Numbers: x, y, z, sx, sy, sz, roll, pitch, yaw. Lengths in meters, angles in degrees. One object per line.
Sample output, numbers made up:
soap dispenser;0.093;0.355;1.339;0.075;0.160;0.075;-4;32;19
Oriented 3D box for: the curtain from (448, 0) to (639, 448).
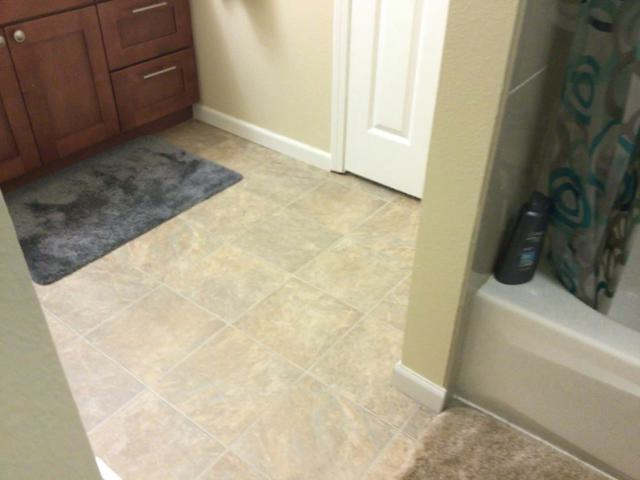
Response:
curtain;0.600;-0.360;1.000;0.380;1.550;0.420;25;42;30
